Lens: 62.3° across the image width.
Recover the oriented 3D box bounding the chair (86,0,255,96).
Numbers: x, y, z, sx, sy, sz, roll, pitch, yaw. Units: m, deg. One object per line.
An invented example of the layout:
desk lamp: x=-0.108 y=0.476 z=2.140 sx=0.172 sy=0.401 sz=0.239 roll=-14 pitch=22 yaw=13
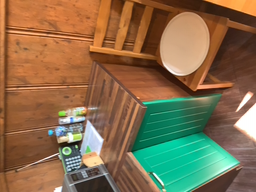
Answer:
chair: x=0.290 y=-0.330 z=1.290 sx=0.500 sy=0.890 sz=0.400 roll=44 pitch=127 yaw=41
